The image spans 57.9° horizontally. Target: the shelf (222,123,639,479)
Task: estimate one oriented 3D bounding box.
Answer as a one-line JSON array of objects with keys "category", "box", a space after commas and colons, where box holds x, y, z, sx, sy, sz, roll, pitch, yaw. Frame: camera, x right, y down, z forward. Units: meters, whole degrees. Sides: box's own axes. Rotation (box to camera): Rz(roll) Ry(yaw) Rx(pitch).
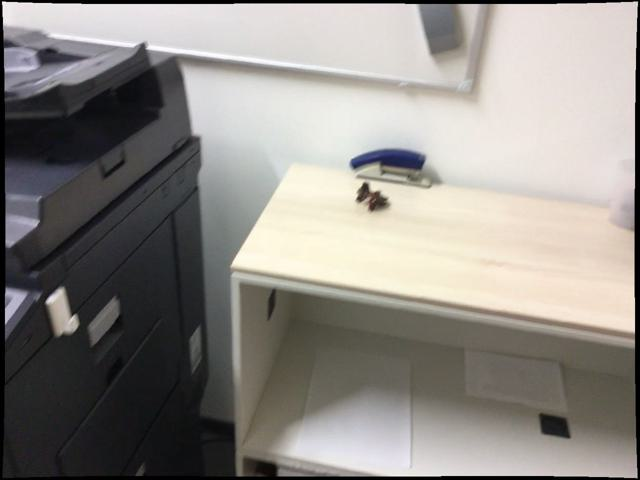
[{"category": "shelf", "box": [0.310, 0.360, 1.220, 0.909, 0.991, 0.460, 8, 31, 6]}]
